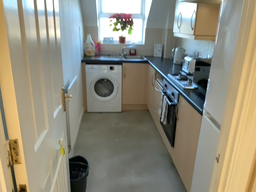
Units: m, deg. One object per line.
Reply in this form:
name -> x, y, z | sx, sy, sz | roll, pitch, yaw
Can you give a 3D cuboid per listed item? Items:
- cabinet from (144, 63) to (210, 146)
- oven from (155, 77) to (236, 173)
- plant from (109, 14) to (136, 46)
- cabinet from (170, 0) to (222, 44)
cabinet -> 0.640, 0.060, 3.170 | 0.600, 0.930, 1.000 | 0, 18, -5
oven -> 0.700, 0.300, 2.440 | 0.620, 0.930, 0.560 | 0, 18, -5
plant -> -0.110, -1.220, 3.950 | 0.460, 0.540, 0.320 | 0, 18, -6
cabinet -> 0.830, -1.100, 2.690 | 0.320, 0.800, 0.760 | 0, 18, -5
